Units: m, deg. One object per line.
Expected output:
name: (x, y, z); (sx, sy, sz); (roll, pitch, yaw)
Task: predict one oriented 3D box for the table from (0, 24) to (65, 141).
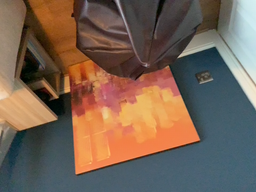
table: (-0.710, -0.070, 1.350); (0.410, 0.470, 0.460); (-16, 142, 6)
